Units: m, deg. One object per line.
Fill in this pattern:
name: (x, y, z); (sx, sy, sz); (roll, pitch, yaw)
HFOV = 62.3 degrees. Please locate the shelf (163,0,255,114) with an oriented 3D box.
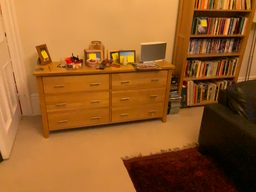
shelf: (1.100, -0.780, 2.790); (1.000, 2.010, 0.370); (-5, 25, -15)
